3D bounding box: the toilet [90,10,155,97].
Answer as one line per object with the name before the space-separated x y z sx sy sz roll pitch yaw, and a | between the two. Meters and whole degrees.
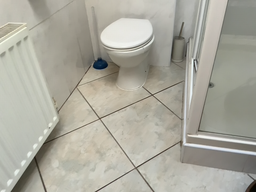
toilet | 0.000 -0.380 1.750 0.370 0.430 0.660 5 40 10
